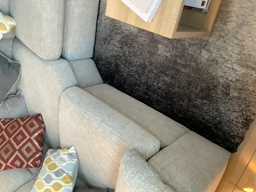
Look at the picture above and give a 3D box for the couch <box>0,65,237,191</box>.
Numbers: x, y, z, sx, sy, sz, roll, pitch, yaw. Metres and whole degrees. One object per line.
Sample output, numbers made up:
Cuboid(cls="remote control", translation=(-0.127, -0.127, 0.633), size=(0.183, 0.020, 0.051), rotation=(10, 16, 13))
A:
Cuboid(cls="couch", translation=(-0.200, 0.560, 1.430), size=(1.160, 0.930, 1.050), rotation=(31, 123, 31))
